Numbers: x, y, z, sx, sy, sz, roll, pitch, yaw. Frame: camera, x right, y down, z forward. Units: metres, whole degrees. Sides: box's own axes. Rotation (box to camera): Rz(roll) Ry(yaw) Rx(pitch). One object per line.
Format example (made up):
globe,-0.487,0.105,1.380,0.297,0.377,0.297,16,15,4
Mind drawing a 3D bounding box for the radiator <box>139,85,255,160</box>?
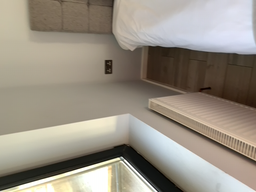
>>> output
radiator,0.680,0.130,1.120,1.280,0.630,0.100,24,116,56
